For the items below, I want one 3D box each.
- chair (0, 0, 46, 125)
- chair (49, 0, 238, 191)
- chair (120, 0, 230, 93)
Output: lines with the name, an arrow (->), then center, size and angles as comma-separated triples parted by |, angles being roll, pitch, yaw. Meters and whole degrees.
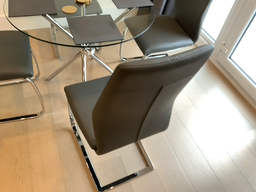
chair -> -0.890, -0.310, 1.260 | 0.560, 1.030, 0.470 | -10, 52, -17
chair -> -0.050, 0.030, 1.110 | 0.460, 1.020, 0.570 | -15, 53, -21
chair -> 0.310, -0.580, 1.700 | 0.550, 1.020, 0.480 | -9, 51, -17
